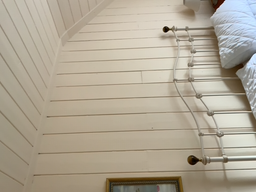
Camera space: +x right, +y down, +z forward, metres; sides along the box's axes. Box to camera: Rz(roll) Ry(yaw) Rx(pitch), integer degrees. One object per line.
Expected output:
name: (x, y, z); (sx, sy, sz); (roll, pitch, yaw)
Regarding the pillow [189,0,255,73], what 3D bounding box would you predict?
pillow: (0.950, -0.630, 1.880); (0.710, 0.470, 0.320); (-50, -23, -28)
